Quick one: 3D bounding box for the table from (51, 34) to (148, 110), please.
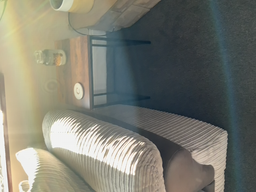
[{"bbox_3d":[-0.180,-0.170,1.440,0.400,0.500,0.400,8,102,46],"label":"table"}]
